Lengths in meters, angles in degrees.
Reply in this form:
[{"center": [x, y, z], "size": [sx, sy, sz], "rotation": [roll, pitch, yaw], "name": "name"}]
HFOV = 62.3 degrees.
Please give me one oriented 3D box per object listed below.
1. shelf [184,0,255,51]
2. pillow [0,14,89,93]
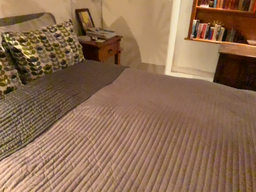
[{"center": [1.710, -1.070, 2.570], "size": [1.840, 1.010, 0.220], "rotation": [13, 30, 19], "name": "shelf"}, {"center": [-0.700, -0.390, 1.710], "size": [0.450, 0.420, 0.650], "rotation": [14, 30, 21], "name": "pillow"}]
